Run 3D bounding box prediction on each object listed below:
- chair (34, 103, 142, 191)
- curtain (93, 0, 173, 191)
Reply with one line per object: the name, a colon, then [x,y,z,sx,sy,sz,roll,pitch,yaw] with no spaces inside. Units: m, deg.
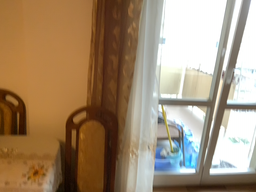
chair: [-0.250,0.650,1.350,0.470,1.070,0.570,2,16,-9]
curtain: [-0.010,-0.070,1.580,0.430,2.750,0.380,3,16,-7]
